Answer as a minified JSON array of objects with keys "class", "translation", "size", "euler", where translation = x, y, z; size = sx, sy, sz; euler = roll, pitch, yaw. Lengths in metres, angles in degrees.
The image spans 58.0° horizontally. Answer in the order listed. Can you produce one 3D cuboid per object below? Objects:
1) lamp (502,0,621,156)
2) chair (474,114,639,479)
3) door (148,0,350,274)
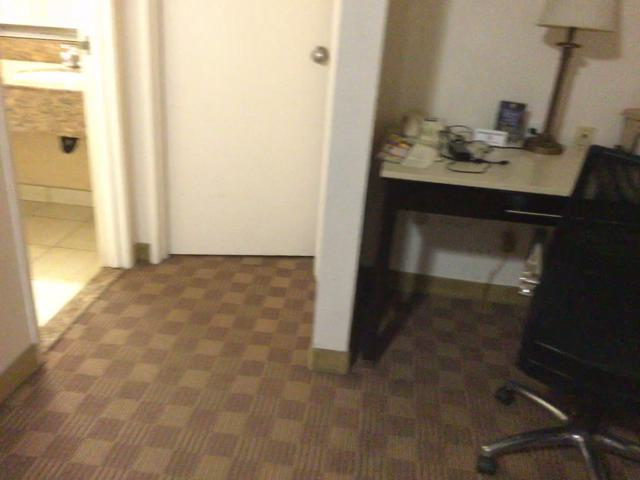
[{"class":"lamp","translation":[0.850,-0.660,2.050],"size":[0.220,0.650,0.300],"euler":[8,20,5]},{"class":"chair","translation":[0.870,0.250,1.580],"size":[0.620,1.030,0.720],"euler":[14,21,21]},{"class":"door","translation":[-0.300,-0.780,2.510],"size":[0.750,1.920,0.110],"euler":[7,22,-7]}]
